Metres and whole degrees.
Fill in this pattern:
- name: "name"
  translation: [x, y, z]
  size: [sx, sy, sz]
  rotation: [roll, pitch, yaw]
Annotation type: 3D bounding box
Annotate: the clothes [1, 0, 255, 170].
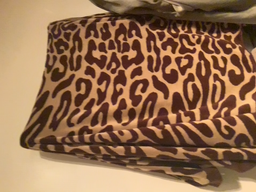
- name: "clothes"
  translation: [0.270, -0.080, 0.700]
  size: [0.150, 1.160, 0.590]
  rotation: [81, -172, -60]
